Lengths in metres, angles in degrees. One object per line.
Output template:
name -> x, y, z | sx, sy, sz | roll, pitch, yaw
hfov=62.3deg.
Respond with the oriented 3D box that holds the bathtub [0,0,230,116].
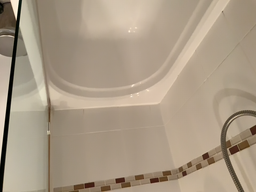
bathtub -> -0.060, -0.580, 0.650 | 0.720, 0.590, 1.650 | -4, 151, -14
